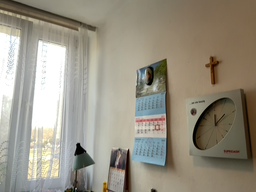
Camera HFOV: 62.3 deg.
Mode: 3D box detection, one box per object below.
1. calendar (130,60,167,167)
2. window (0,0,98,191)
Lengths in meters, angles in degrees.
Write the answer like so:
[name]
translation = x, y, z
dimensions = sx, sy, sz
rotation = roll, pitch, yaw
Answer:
[calendar]
translation = 0.110, 0.100, 1.250
dimensions = 0.060, 0.570, 0.260
rotation = 7, -12, -34
[window]
translation = -0.860, 0.110, 1.550
dimensions = 1.260, 1.580, 0.240
rotation = 8, -12, -37
